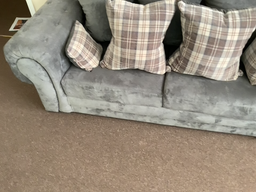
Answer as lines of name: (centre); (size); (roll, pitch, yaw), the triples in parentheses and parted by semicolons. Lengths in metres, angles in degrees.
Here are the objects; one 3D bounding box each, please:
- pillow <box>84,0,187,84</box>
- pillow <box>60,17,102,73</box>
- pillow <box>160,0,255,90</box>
pillow: (0.030, -0.360, 1.290); (0.430, 0.450, 0.180); (25, 44, -15)
pillow: (-0.310, -0.330, 1.400); (0.110, 0.280, 0.220); (29, 43, -19)
pillow: (0.500, -0.320, 1.250); (0.460, 0.410, 0.190); (25, 44, -14)
